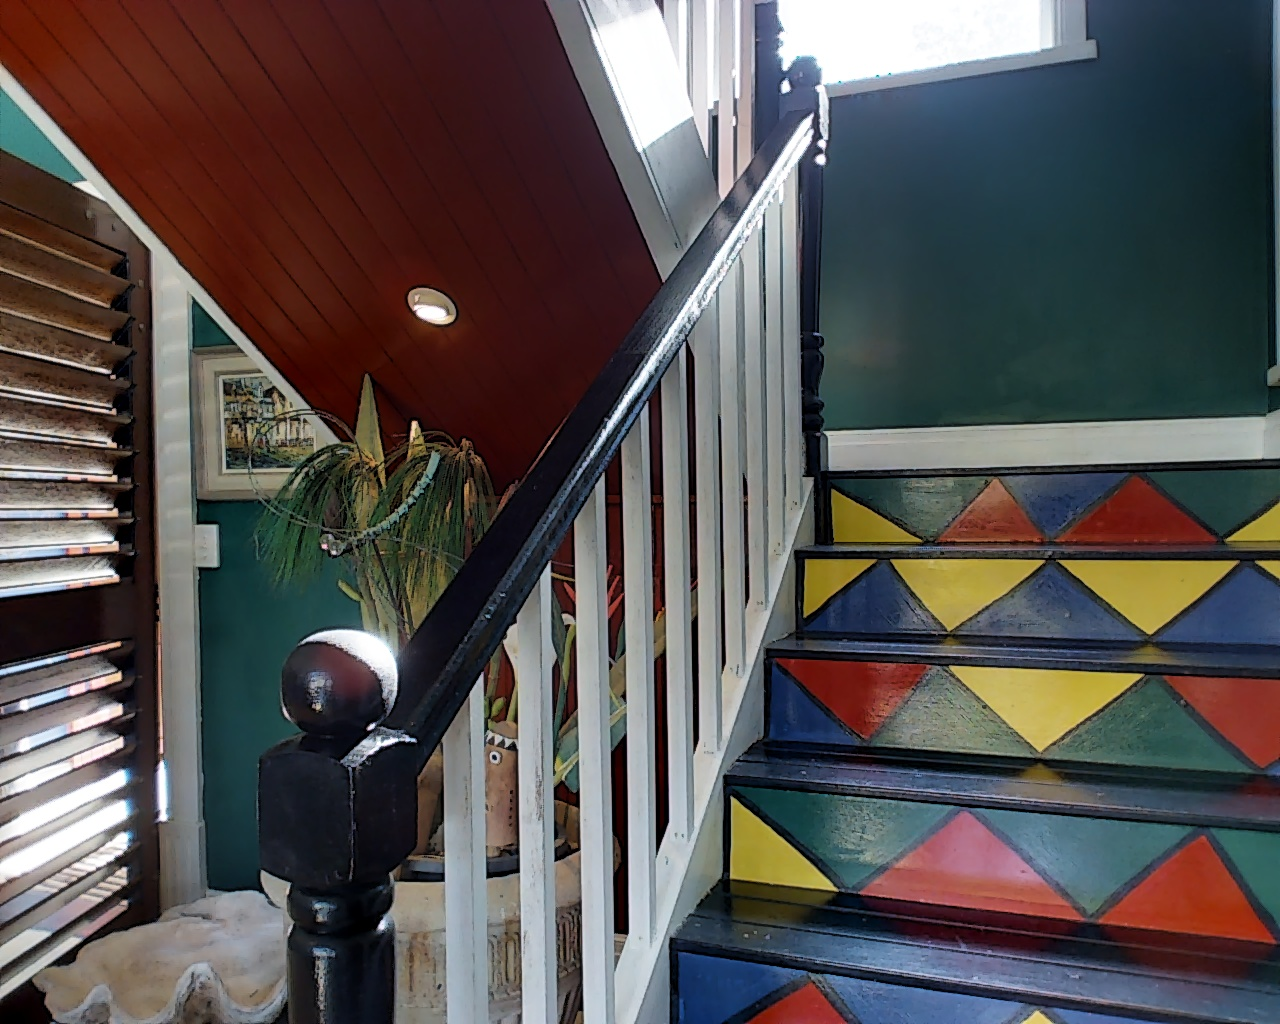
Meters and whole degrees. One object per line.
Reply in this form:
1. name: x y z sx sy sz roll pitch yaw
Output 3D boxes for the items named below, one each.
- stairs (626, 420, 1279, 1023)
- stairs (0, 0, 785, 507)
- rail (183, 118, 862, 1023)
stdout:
1. stairs: 0.590 0.500 1.490 1.010 0.230 2.010 -1 35 21
2. stairs: -0.500 -0.680 1.910 1.150 0.380 1.760 -1 36 22
3. rail: 0.090 0.040 1.770 0.210 0.730 1.950 -1 36 21
